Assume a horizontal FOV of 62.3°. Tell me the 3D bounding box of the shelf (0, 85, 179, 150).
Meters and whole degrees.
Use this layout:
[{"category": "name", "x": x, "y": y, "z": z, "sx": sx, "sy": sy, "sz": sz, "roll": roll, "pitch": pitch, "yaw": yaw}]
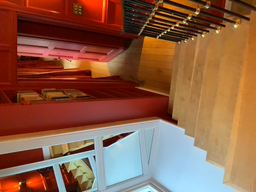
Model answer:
[{"category": "shelf", "x": -0.930, "y": 0.150, "z": 2.580, "sx": 1.030, "sy": 3.480, "sz": 0.410, "roll": 17, "pitch": 105, "yaw": 51}]
